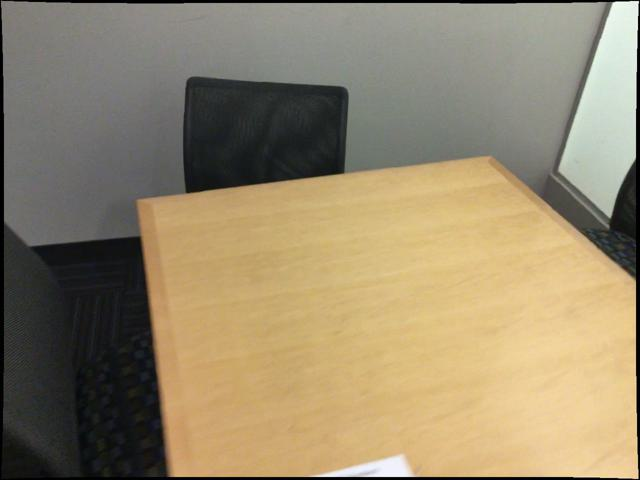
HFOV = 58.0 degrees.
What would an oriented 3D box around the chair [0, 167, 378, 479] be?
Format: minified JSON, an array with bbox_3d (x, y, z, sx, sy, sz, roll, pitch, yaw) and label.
[{"bbox_3d":[-0.329,0.381,1.190,0.599,0.821,0.661,-2,45,-13],"label":"chair"}]

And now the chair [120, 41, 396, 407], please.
[{"bbox_3d":[-0.180,-0.040,1.710,0.569,0.731,0.741,4,44,-6],"label":"chair"}]
